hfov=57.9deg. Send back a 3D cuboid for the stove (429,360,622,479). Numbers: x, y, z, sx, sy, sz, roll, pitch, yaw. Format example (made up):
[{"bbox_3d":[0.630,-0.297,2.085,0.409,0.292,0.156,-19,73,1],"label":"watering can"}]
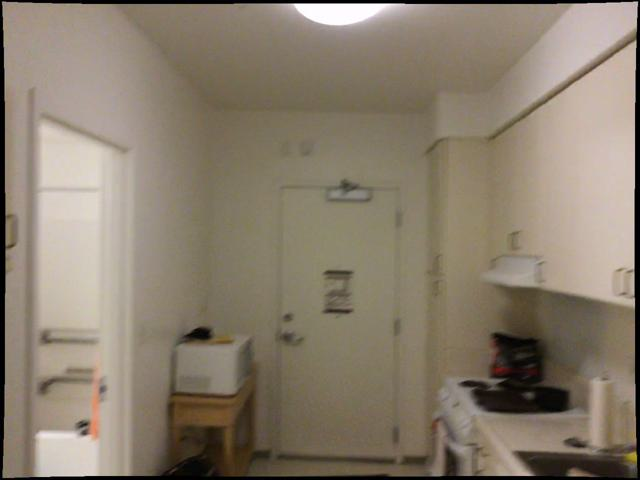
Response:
[{"bbox_3d":[0.999,1.111,3.020,0.699,0.751,0.840,2,1,2],"label":"stove"}]

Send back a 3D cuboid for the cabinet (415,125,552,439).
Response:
[{"bbox_3d":[1.079,0.260,3.960,0.689,1.942,0.660,2,1,2],"label":"cabinet"}]

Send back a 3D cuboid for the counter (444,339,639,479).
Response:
[{"bbox_3d":[1.079,0.781,2.550,0.649,0.270,2.180,2,1,2],"label":"counter"}]
